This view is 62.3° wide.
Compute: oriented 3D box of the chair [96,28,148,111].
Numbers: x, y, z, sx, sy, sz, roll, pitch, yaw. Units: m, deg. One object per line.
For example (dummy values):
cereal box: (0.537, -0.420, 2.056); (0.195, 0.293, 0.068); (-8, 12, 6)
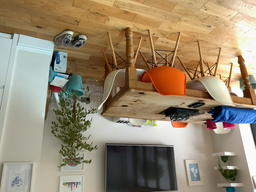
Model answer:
chair: (-0.090, -0.270, 2.350); (0.450, 0.770, 0.400); (5, 158, -19)

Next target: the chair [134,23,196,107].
chair: (0.370, -0.310, 2.380); (0.410, 0.720, 0.530); (6, 158, -20)

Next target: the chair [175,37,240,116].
chair: (0.930, -0.210, 2.620); (0.380, 0.780, 0.540); (6, 158, -20)
